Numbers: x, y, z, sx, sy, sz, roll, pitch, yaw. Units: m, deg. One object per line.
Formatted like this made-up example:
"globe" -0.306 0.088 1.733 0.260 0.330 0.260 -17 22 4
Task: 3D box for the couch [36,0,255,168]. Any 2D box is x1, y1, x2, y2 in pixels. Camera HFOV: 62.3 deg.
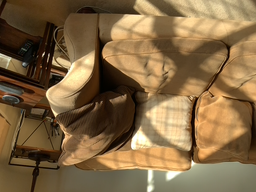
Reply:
"couch" 0.560 0.020 1.610 1.970 0.820 1.040 1 151 -3

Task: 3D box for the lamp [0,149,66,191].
"lamp" -0.750 0.760 1.520 0.450 0.640 0.430 3 151 -5

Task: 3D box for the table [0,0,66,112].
"table" -0.750 -0.270 1.370 0.500 0.550 0.340 22 144 -34

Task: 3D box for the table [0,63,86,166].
"table" -0.690 0.160 1.880 0.530 0.810 0.370 3 151 -6
